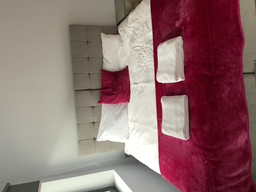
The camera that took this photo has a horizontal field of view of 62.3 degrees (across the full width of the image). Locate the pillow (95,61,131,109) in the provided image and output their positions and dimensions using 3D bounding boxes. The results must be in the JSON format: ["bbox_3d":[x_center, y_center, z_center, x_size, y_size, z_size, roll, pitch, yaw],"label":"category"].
[{"bbox_3d":[-0.190,-0.160,2.940,0.110,0.490,0.610,-12,88,35],"label":"pillow"}]
